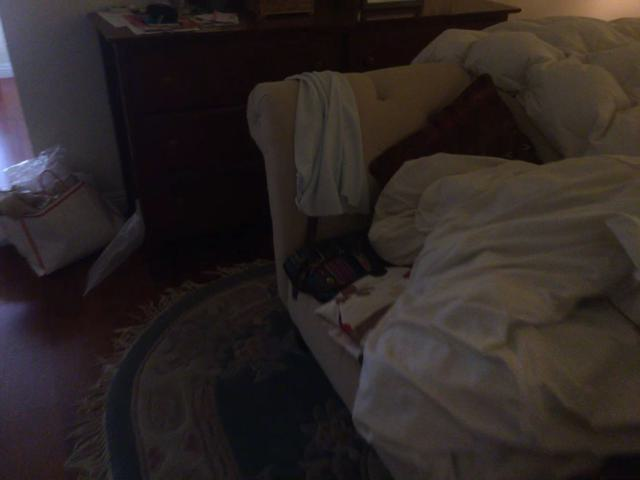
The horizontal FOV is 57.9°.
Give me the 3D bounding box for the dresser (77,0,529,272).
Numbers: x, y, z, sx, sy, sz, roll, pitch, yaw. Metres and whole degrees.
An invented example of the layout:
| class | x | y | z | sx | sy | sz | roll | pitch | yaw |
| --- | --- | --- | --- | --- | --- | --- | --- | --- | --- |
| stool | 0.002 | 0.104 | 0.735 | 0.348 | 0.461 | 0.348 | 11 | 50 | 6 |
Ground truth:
| class | x | y | z | sx | sy | sz | roll | pitch | yaw |
| --- | --- | --- | --- | --- | --- | --- | --- | --- | --- |
| dresser | -0.030 | -0.570 | 2.460 | 1.670 | 0.870 | 0.580 | -14 | 33 | -23 |
